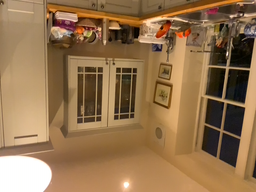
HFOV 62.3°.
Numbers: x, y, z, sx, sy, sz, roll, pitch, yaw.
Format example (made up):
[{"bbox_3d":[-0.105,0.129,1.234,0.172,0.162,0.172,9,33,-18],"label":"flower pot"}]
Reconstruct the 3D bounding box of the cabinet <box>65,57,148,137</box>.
[{"bbox_3d":[-0.300,-0.020,2.910,1.050,0.970,0.330,-2,-168,-27],"label":"cabinet"}]
